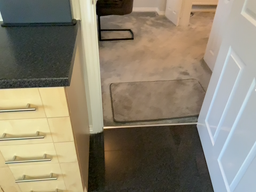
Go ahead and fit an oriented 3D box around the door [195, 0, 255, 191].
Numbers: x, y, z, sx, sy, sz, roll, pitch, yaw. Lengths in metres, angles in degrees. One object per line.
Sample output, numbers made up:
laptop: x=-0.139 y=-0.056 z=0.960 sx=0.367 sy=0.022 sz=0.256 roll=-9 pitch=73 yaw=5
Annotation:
door: x=0.570 y=-0.270 z=0.860 sx=0.030 sy=2.030 sz=0.850 roll=6 pitch=37 yaw=4
